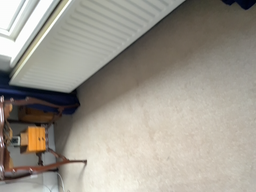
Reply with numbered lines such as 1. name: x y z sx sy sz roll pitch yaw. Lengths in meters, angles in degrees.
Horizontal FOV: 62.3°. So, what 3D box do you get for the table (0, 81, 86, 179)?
1. table: -0.870 0.340 1.920 0.600 0.660 0.650 -30 63 38
